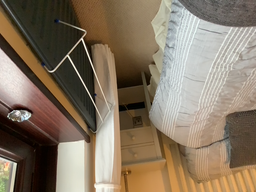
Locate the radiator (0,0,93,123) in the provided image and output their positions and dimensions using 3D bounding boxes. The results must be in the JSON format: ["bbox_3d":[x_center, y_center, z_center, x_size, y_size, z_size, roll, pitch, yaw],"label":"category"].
[{"bbox_3d":[-0.290,-0.340,0.880,0.050,0.620,0.910,-8,152,1],"label":"radiator"}]

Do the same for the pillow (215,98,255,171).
[{"bbox_3d":[0.870,0.280,1.390,0.420,0.400,0.130,20,-166,8],"label":"pillow"}]
